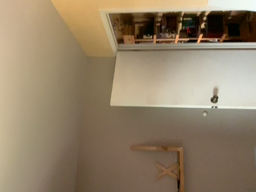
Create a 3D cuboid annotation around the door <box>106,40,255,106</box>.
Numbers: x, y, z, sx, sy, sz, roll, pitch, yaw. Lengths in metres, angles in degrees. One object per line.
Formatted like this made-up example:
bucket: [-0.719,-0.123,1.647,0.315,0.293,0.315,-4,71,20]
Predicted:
door: [0.790,-0.290,2.290,0.040,1.960,0.890,84,-171,-54]
